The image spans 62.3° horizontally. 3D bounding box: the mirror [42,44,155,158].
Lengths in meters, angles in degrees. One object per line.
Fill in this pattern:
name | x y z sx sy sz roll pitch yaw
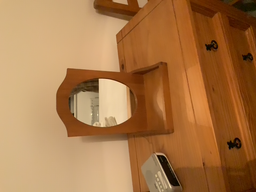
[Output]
mirror | -0.110 0.030 0.800 0.150 0.370 0.350 -25 67 51
